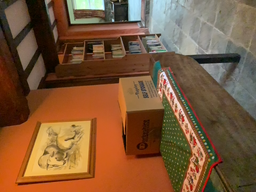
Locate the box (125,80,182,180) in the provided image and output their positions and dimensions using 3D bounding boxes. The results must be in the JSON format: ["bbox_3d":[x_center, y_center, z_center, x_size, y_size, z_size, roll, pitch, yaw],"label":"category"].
[{"bbox_3d":[0.150,0.240,1.570,0.450,0.280,0.550,-104,11,-55],"label":"box"}]
